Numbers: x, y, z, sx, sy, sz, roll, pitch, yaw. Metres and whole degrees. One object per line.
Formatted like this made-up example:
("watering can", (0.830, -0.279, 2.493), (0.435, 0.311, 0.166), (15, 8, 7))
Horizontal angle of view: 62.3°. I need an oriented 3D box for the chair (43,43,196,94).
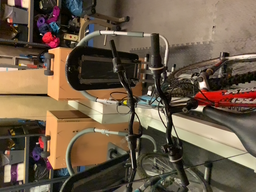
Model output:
("chair", (-0.080, -0.230, 1.780), (0.700, 1.050, 0.280), (21, 107, 54))
